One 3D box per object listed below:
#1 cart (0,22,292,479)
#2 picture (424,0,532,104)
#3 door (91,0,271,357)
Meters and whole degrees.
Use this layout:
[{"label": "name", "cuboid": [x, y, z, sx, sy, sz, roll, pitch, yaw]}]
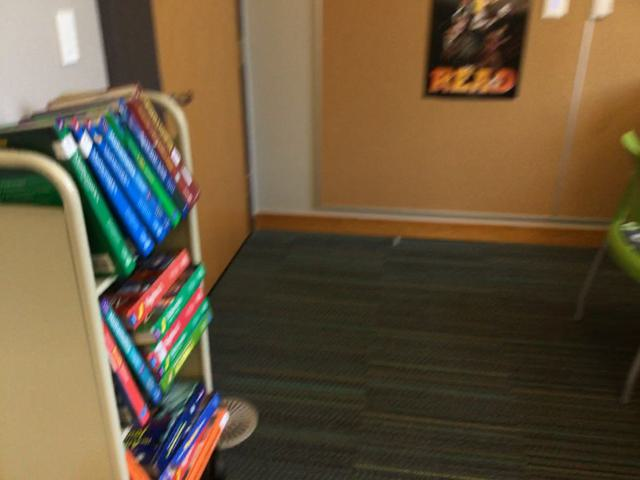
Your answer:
[{"label": "cart", "cuboid": [-0.390, 0.200, 1.240, 0.460, 1.220, 0.540, 2, 22, 12]}, {"label": "picture", "cuboid": [0.680, -0.910, 2.520, 0.430, 0.600, 0.100, 2, 22, 12]}, {"label": "door", "cuboid": [-0.490, -0.510, 2.360, 0.200, 1.640, 1.010, 1, 21, 10]}]
